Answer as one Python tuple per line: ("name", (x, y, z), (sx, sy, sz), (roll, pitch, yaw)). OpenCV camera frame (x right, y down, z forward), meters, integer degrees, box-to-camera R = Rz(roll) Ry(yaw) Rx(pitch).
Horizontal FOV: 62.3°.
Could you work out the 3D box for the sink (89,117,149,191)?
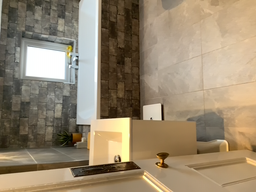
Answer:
("sink", (-0.090, 0.390, 1.390), (0.610, 0.110, 0.490), (-11, 77, 59))
